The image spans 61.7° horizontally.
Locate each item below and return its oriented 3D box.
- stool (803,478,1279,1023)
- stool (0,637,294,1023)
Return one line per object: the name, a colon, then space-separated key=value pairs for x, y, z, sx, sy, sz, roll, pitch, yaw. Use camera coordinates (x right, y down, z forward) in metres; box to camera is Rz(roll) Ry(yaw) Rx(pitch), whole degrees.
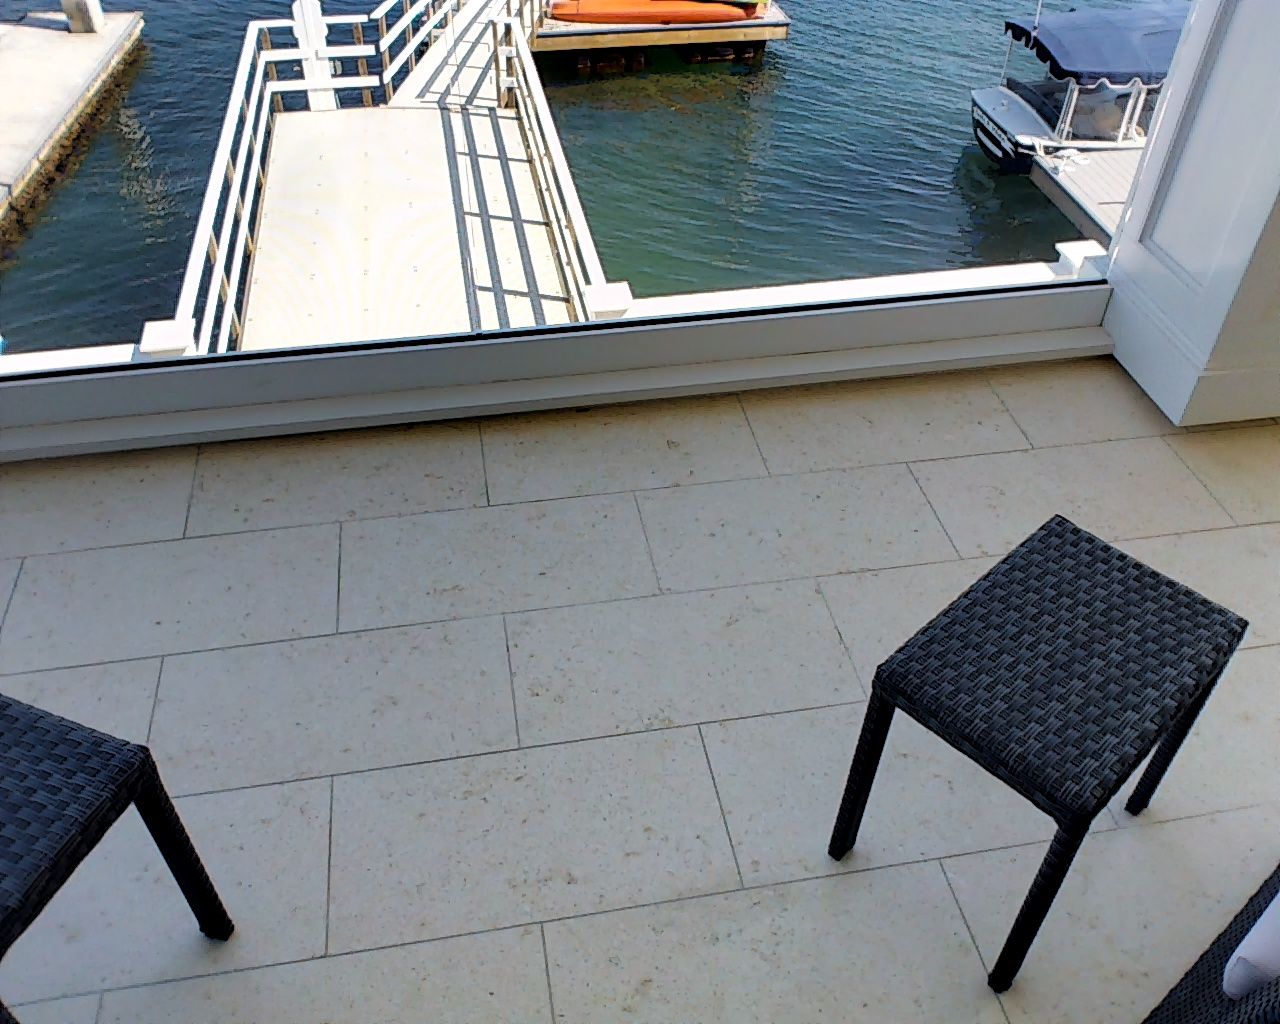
stool: x=0.600 y=0.350 z=1.560 sx=0.550 sy=0.480 sz=0.410 roll=-31 pitch=50 yaw=-31
stool: x=-0.840 y=0.480 z=1.390 sx=0.530 sy=0.470 sz=0.410 roll=12 pitch=43 yaw=13
